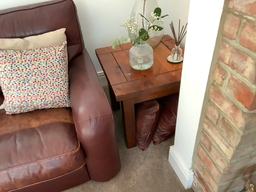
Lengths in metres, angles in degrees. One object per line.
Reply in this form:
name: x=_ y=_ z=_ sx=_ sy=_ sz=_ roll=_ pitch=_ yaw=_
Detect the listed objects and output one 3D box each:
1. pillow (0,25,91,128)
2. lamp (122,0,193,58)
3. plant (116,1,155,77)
pillow: x=-0.500 y=-0.130 z=1.250 sx=0.430 sy=0.370 sz=0.380 roll=-16 pitch=41 yaw=-14
lamp: x=0.180 y=-0.660 z=1.380 sx=0.360 sy=0.680 sz=0.320 roll=-15 pitch=40 yaw=-12
plant: x=0.050 y=-0.330 z=1.250 sx=0.160 sy=0.370 sz=0.170 roll=-15 pitch=40 yaw=-12
